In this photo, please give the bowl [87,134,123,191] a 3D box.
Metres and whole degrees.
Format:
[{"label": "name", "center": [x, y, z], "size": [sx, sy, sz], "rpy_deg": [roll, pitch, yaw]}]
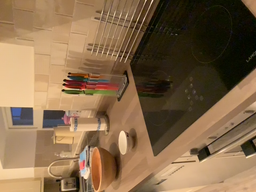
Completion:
[{"label": "bowl", "center": [-0.150, 0.410, 1.290], "size": [0.260, 0.120, 0.260], "rpy_deg": [121, 144, -48]}]
